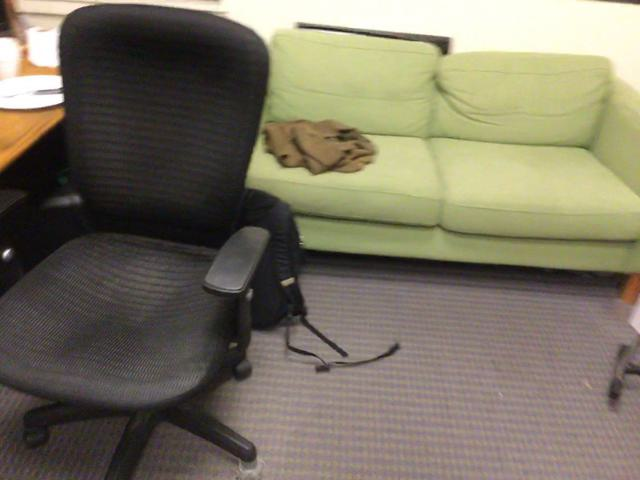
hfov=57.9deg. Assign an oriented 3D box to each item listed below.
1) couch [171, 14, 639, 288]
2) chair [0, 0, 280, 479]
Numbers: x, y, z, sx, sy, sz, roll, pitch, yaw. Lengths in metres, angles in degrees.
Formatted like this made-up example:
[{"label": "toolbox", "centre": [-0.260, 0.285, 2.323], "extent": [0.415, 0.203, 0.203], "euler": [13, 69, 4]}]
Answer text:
[{"label": "couch", "centre": [0.420, -0.390, 2.230], "extent": [1.720, 0.630, 0.880], "euler": [5, 32, 0]}, {"label": "chair", "centre": [-0.460, 0.080, 1.270], "extent": [0.650, 1.040, 0.630], "euler": [5, 32, 0]}]
